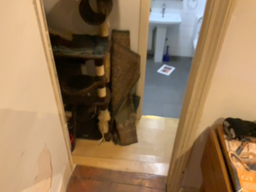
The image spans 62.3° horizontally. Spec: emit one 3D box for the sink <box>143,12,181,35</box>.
[{"bbox_3d":[0.570,-1.240,3.590,0.590,0.210,0.410,6,37,6],"label":"sink"}]
